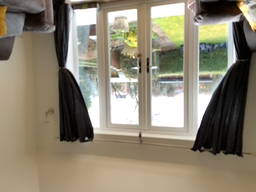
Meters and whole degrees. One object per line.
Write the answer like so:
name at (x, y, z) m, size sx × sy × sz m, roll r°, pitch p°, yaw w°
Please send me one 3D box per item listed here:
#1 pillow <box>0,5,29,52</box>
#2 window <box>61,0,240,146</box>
pillow at (-1.460, -0.800, 2.530) m, size 0.170 × 0.360 × 0.400 m, roll 5°, pitch -128°, yaw 21°
window at (0.240, -0.490, 3.370) m, size 2.710 × 0.220 × 2.360 m, roll 0°, pitch -85°, yaw 16°
